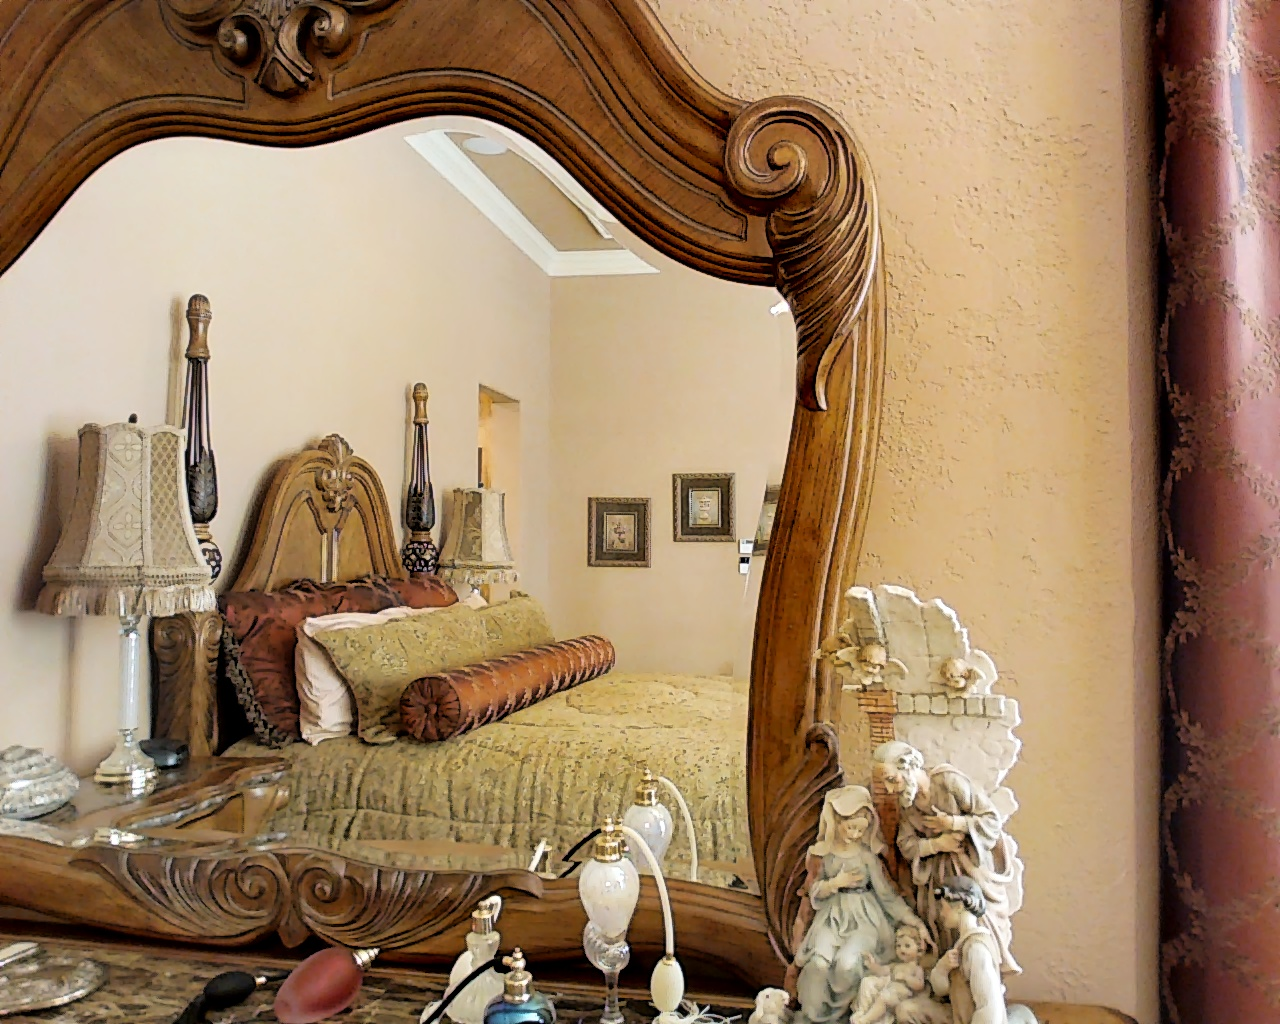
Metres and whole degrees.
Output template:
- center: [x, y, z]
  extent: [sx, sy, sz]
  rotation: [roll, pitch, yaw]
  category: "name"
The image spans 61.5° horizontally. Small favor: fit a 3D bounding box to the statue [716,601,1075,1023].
- center: [0.230, 0.290, 0.920]
  extent: [0.260, 0.400, 0.260]
  rotation: [0, 0, 21]
  category: "statue"
